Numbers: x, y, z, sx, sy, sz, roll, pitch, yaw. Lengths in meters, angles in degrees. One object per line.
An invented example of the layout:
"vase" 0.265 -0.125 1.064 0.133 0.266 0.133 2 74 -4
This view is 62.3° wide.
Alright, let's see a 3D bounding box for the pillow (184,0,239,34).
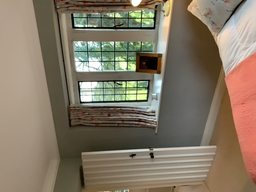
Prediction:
"pillow" 0.630 -0.760 1.570 0.550 0.200 0.320 107 160 -70
